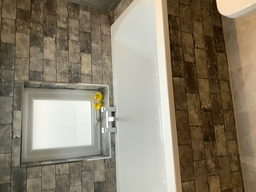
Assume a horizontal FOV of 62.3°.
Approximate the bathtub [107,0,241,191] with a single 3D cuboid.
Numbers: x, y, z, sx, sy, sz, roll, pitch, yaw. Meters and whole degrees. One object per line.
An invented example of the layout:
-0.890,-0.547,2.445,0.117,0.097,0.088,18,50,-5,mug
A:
0.280,0.200,1.680,0.810,0.560,2.210,-19,71,60,bathtub
